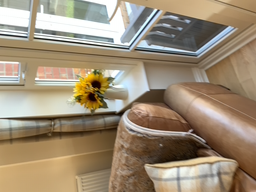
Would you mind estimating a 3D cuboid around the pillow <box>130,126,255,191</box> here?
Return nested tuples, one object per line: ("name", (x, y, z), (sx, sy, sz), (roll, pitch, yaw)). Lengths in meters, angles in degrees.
("pillow", (0.300, 0.450, 1.050), (0.430, 0.400, 0.190), (-59, 11, 11))

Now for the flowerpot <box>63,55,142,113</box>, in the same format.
("flowerpot", (-0.200, -0.080, 1.590), (0.280, 0.480, 0.300), (-47, 52, 51))
